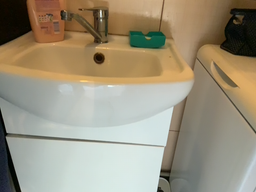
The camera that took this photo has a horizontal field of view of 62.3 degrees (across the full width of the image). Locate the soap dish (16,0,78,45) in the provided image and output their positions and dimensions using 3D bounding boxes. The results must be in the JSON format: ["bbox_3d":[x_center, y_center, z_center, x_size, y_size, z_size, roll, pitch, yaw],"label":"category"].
[{"bbox_3d":[-0.220,-0.240,0.600,0.130,0.150,0.110,5,29,-1],"label":"soap dish"}]

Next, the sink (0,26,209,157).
[{"bbox_3d":[-0.090,-0.050,0.560,0.450,0.150,0.380,4,29,-2],"label":"sink"}]
